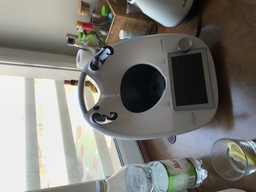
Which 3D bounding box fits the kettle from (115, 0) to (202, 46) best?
[{"bbox_3d":[0.100,-0.310,0.700,0.210,0.200,0.140,-64,36,36],"label":"kettle"}]
